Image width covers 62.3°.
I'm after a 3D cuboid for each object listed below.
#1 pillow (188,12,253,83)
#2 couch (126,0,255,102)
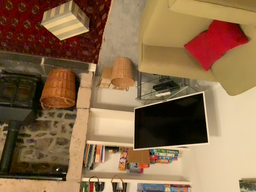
[{"bbox_3d":[0.610,-0.350,1.490,0.150,0.430,0.320,5,126,-10],"label":"pillow"},{"bbox_3d":[0.550,-0.500,1.550,0.970,0.780,0.810,6,157,-11],"label":"couch"}]
